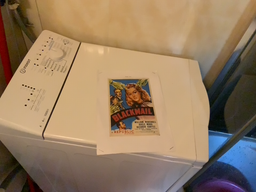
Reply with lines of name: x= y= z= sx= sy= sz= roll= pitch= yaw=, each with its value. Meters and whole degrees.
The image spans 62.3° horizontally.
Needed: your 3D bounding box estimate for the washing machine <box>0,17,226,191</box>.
washing machine: x=-0.120 y=0.230 z=0.980 sx=0.670 sy=0.890 sz=0.480 roll=12 pitch=52 yaw=0
